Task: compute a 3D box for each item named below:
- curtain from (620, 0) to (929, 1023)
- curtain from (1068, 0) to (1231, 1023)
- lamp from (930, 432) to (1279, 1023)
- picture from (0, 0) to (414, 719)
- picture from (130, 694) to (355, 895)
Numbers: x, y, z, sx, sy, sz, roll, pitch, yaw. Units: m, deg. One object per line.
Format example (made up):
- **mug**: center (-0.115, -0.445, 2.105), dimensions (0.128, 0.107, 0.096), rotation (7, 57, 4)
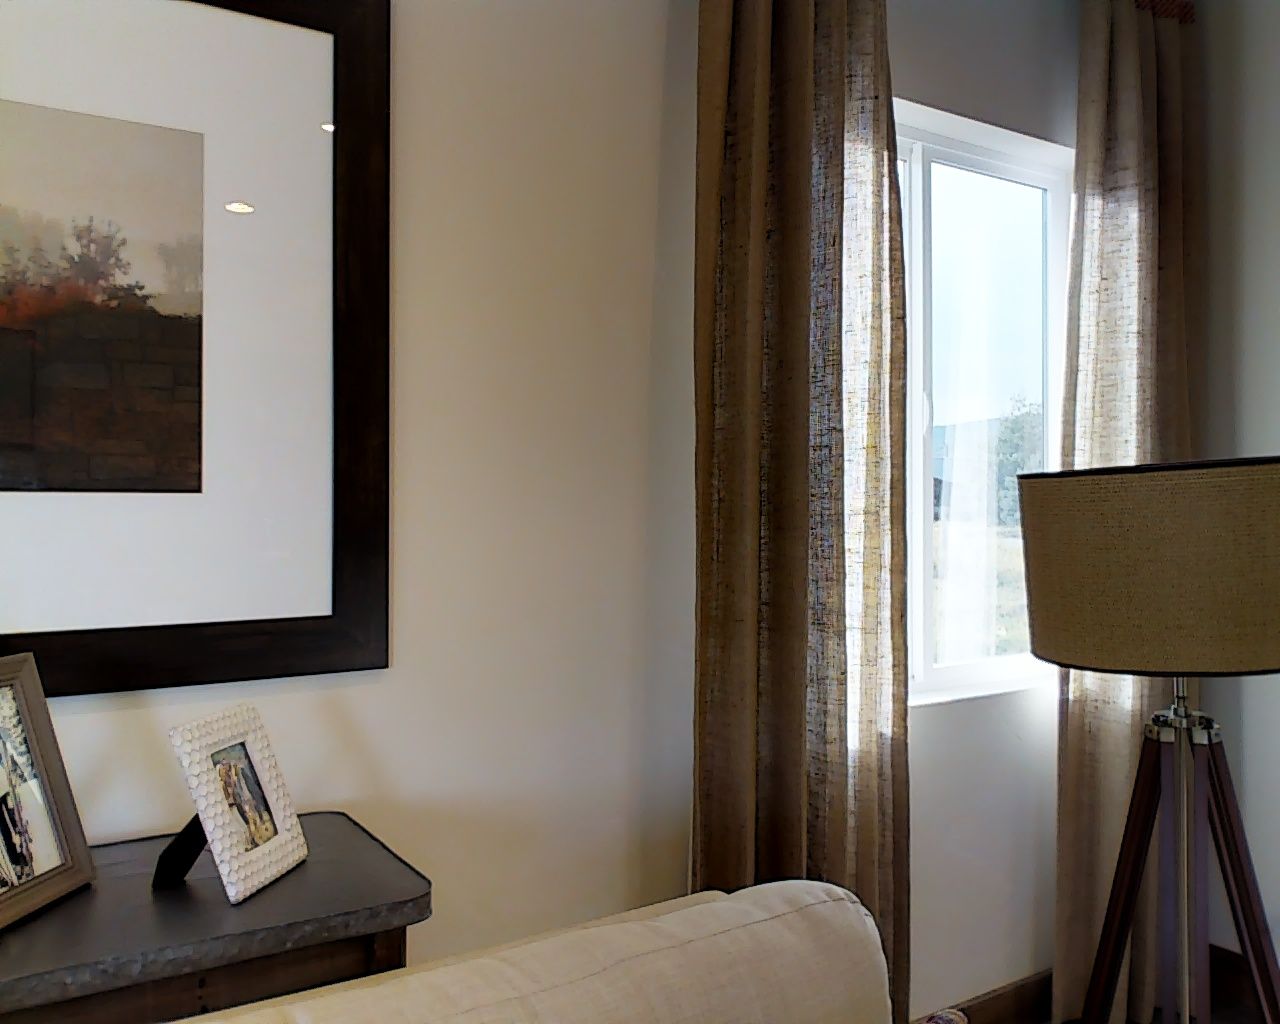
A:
- **curtain**: center (0.310, -0.100, 2.330), dimensions (0.720, 3.000, 0.180), rotation (0, 0, -33)
- **curtain**: center (1.400, -0.110, 2.930), dimensions (0.490, 3.000, 0.170), rotation (0, 0, -33)
- **lamp**: center (0.750, 0.650, 1.490), dimensions (0.530, 1.480, 0.510), rotation (0, 0, 34)
- **picture**: center (-1.020, -0.300, 1.520), dimensions (1.450, 1.200, 0.050), rotation (0, 0, -33)
- **picture**: center (-0.540, 0.400, 1.490), dimensions (0.100, 0.230, 0.240), rotation (19, -15, 16)
